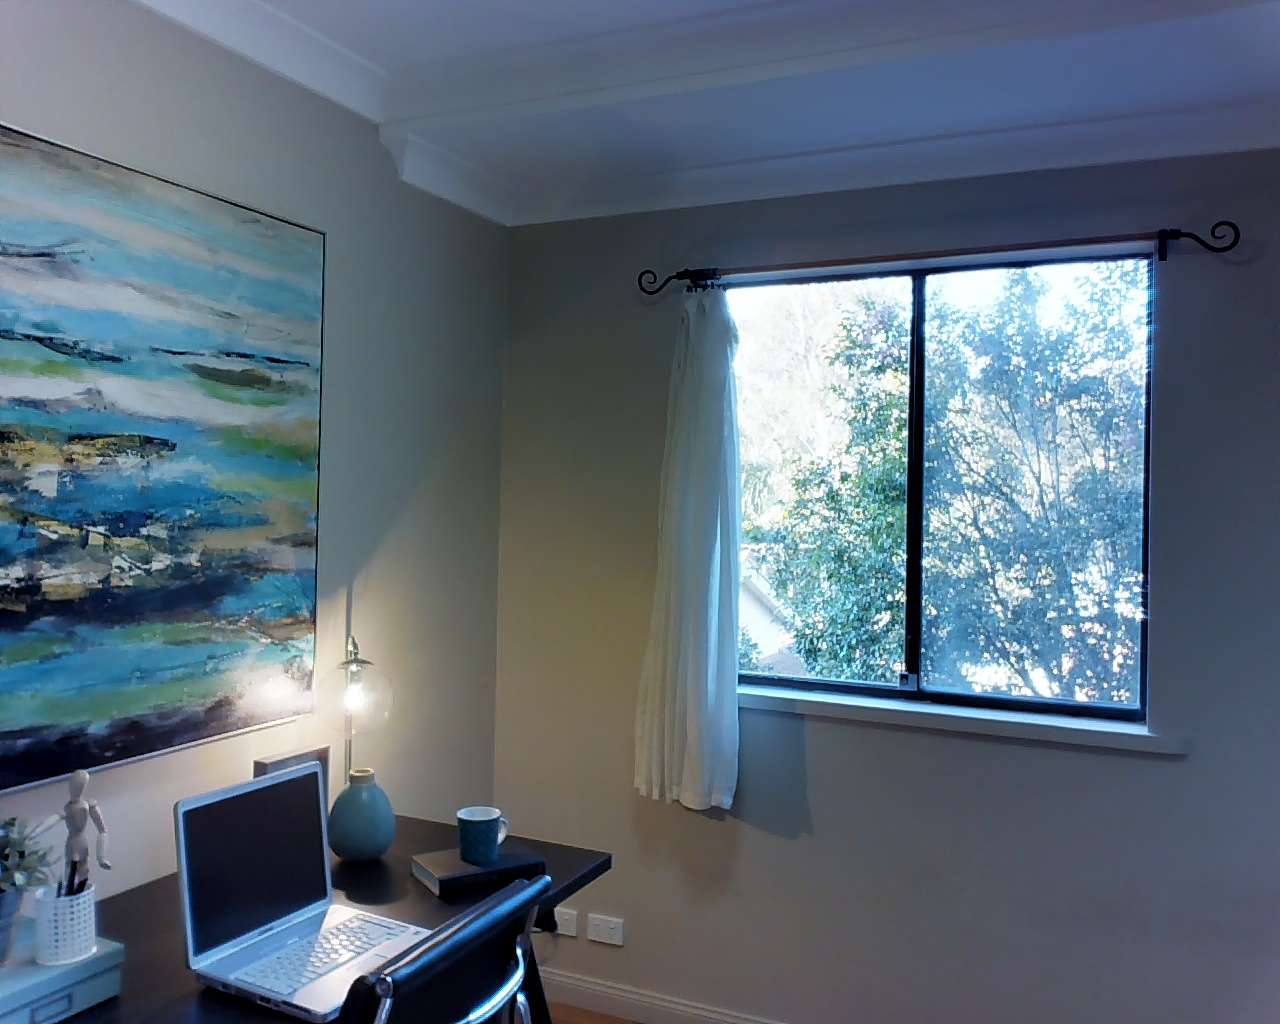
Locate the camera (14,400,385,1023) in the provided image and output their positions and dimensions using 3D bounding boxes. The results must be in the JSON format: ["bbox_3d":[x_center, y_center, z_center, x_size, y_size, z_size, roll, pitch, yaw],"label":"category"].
[{"bbox_3d":[-0.790,0.310,1.950,0.550,0.970,0.280,1,1,-42],"label":"camera"}]
